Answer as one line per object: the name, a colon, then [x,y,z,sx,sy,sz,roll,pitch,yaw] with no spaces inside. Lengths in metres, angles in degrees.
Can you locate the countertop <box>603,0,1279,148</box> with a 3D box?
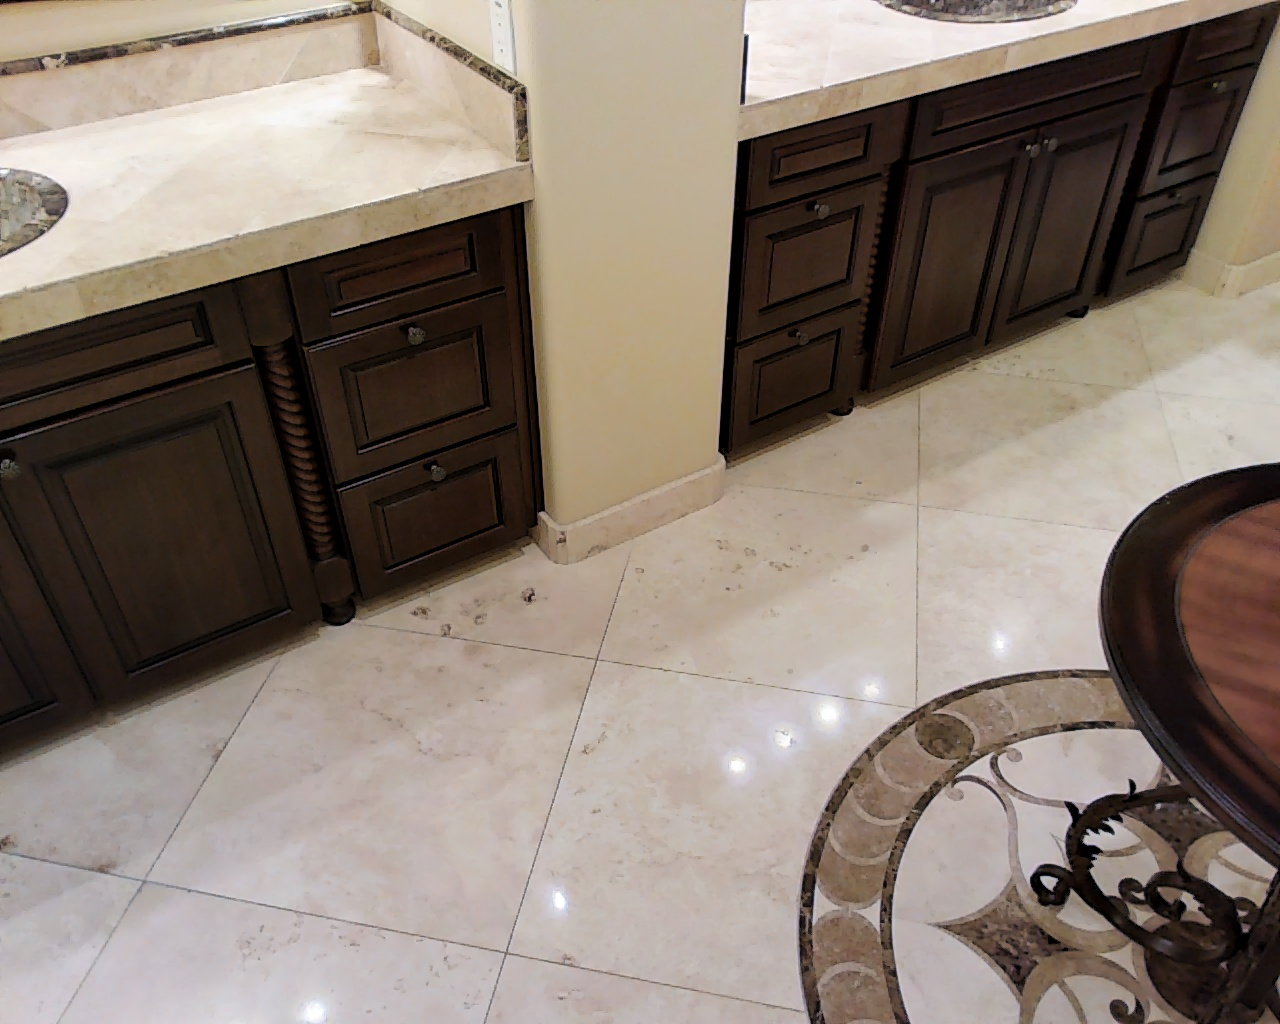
countertop: [0.810,-1.190,2.520,1.740,0.120,0.590,-23,45,-25]

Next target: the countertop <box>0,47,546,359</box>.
countertop: [-1.060,-0.400,1.580,1.770,0.120,0.590,-23,45,-25]
